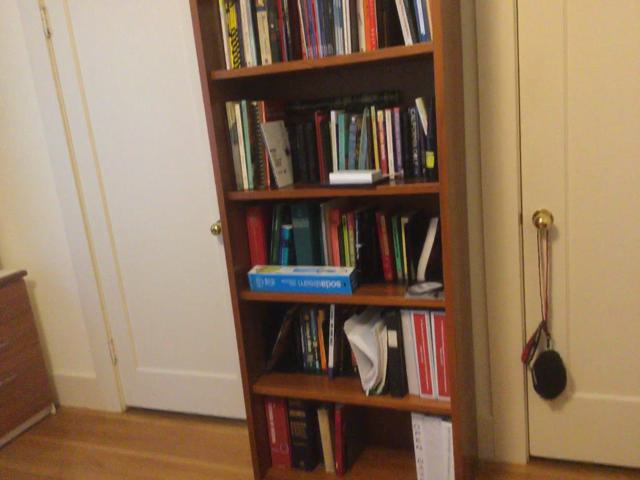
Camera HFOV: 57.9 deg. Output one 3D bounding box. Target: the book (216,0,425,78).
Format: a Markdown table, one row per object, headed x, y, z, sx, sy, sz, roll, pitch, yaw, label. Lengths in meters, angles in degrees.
| x | y | z | sx | sy | sz | roll | pitch | yaw | label |
| --- | --- | --- | --- | --- | --- | --- | --- | --- | --- |
| 0.000 | -0.700 | 1.790 | 0.590 | 0.310 | 0.220 | -2 | 13 | 21 | book |

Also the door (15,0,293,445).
| x | y | z | sx | sy | sz | roll | pitch | yaw | label |
| --- | --- | --- | --- | --- | --- | --- | --- | --- | --- |
| -0.650 | -0.150 | 2.300 | 0.860 | 1.970 | 0.150 | -2 | 13 | 21 | door |

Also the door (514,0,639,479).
| x | y | z | sx | sy | sz | roll | pitch | yaw | label |
| --- | --- | --- | --- | --- | --- | --- | --- | --- | --- |
| 0.980 | -0.170 | 1.700 | 0.730 | 1.970 | 0.070 | -2 | 13 | 21 | door |

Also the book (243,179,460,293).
| x | y | z | sx | sy | sz | roll | pitch | yaw | label |
| --- | --- | --- | --- | --- | --- | --- | --- | --- | --- |
| 0.110 | -0.010 | 1.960 | 0.670 | 0.320 | 0.220 | -2 | 13 | 21 | book |

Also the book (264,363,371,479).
| x | y | z | sx | sy | sz | roll | pitch | yaw | label |
| --- | --- | --- | --- | --- | --- | --- | --- | --- | --- |
| 0.000 | 0.660 | 2.150 | 0.300 | 0.310 | 0.240 | -2 | 13 | 21 | book |

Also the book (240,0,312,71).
| x | y | z | sx | sy | sz | roll | pitch | yaw | label |
| --- | --- | --- | --- | --- | --- | --- | --- | --- | --- |
| -0.130 | -0.650 | 1.800 | 0.100 | 0.220 | 0.270 | -2 | 13 | 21 | book |

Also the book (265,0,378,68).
| x | y | z | sx | sy | sz | roll | pitch | yaw | label |
| --- | --- | --- | --- | --- | --- | --- | --- | --- | --- |
| 0.010 | -0.680 | 1.750 | 0.240 | 0.270 | 0.300 | -2 | 13 | 21 | book |

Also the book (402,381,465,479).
| x | y | z | sx | sy | sz | roll | pitch | yaw | label |
| --- | --- | --- | --- | --- | --- | --- | --- | --- | --- |
| 0.390 | 0.670 | 1.950 | 0.150 | 0.280 | 0.260 | -2 | 13 | 21 | book |

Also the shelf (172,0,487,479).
| x | y | z | sx | sy | sz | roll | pitch | yaw | label |
| --- | --- | --- | --- | --- | --- | --- | --- | --- | --- |
| 0.080 | -0.050 | 1.900 | 0.790 | 1.860 | 0.390 | -2 | 13 | 21 | shelf |

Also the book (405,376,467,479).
| x | y | z | sx | sy | sz | roll | pitch | yaw | label |
| --- | --- | --- | --- | --- | --- | --- | --- | --- | --- |
| 0.400 | 0.670 | 1.950 | 0.140 | 0.300 | 0.310 | -2 | 13 | 21 | book |

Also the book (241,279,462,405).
| x | y | z | sx | sy | sz | roll | pitch | yaw | label |
| --- | --- | --- | --- | --- | --- | --- | --- | --- | --- |
| 0.120 | 0.330 | 2.010 | 0.680 | 0.310 | 0.310 | -2 | 13 | 21 | book |

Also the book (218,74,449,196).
| x | y | z | sx | sy | sz | roll | pitch | yaw | label |
| --- | --- | --- | --- | --- | --- | --- | --- | --- | --- |
| 0.050 | -0.330 | 1.850 | 0.660 | 0.300 | 0.270 | -2 | 13 | 21 | book |

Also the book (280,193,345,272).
| x | y | z | sx | sy | sz | roll | pitch | yaw | label |
| --- | --- | --- | --- | --- | --- | --- | --- | --- | --- |
| -0.020 | -0.030 | 1.990 | 0.120 | 0.220 | 0.240 | -2 | 13 | 21 | book |
